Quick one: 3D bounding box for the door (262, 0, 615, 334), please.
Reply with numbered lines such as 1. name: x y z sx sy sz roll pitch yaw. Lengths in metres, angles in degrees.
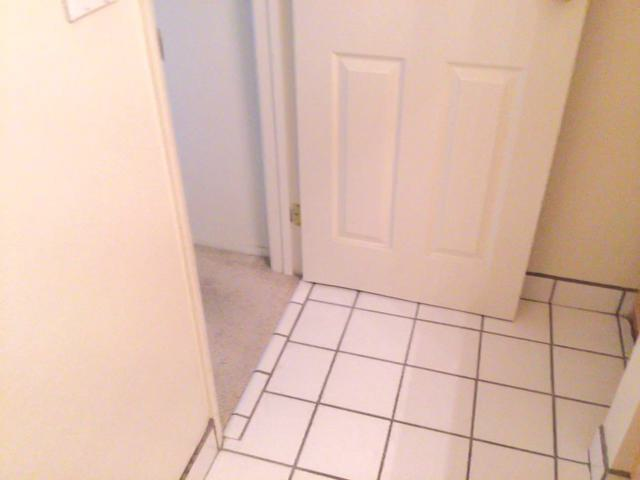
1. door: 0.260 -0.400 1.520 0.830 1.480 0.060 9 35 15
